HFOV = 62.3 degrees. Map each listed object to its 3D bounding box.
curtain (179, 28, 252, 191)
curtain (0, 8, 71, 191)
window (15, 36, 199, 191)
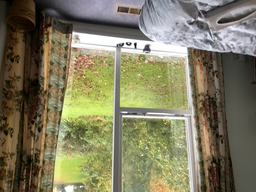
[{"bbox_3d":[0.940,0.330,2.330,0.560,2.260,0.190,2,165,-8],"label":"curtain"},{"bbox_3d":[-0.870,0.200,2.000,0.490,2.230,0.170,2,165,-7],"label":"curtain"},{"bbox_3d":[-0.180,0.330,2.500,1.930,2.030,0.180,2,165,-9],"label":"window"}]
